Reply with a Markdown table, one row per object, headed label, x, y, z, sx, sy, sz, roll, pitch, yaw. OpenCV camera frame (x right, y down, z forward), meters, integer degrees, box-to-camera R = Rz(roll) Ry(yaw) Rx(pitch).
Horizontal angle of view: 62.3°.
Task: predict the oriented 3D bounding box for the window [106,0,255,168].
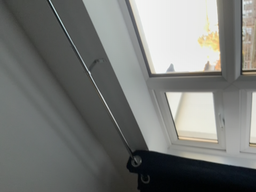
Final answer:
| label | x | y | z | sx | sy | sz | roll | pitch | yaw |
| --- | --- | --- | --- | --- | --- | --- | --- | --- | --- |
| window | 0.500 | -0.320 | 0.700 | 0.210 | 1.140 | 1.740 | -62 | -38 | -41 |
